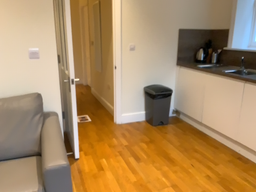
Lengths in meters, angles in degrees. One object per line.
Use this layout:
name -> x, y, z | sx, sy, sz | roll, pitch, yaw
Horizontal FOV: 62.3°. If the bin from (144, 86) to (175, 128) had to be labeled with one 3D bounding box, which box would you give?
bin -> 0.480, 0.160, 3.310 | 0.340, 0.550, 0.300 | -6, 17, -22
